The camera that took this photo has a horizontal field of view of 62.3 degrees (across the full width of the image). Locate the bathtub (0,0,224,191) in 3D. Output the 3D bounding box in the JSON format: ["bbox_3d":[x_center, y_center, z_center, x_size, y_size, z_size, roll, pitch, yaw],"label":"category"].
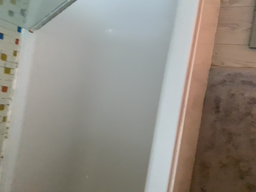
[{"bbox_3d":[-0.070,0.190,1.020,0.740,0.610,1.650,9,90,26],"label":"bathtub"}]
